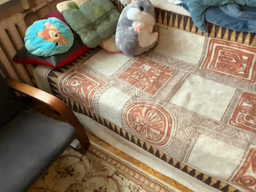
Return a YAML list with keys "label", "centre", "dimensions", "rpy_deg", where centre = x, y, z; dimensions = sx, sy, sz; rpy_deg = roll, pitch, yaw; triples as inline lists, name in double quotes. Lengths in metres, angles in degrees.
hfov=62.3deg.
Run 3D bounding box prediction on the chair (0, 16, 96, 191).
- label: "chair"
  centre: [-0.740, 0.160, 1.090]
  dimensions: [0.750, 0.900, 0.670]
  rpy_deg: [20, 50, 23]
